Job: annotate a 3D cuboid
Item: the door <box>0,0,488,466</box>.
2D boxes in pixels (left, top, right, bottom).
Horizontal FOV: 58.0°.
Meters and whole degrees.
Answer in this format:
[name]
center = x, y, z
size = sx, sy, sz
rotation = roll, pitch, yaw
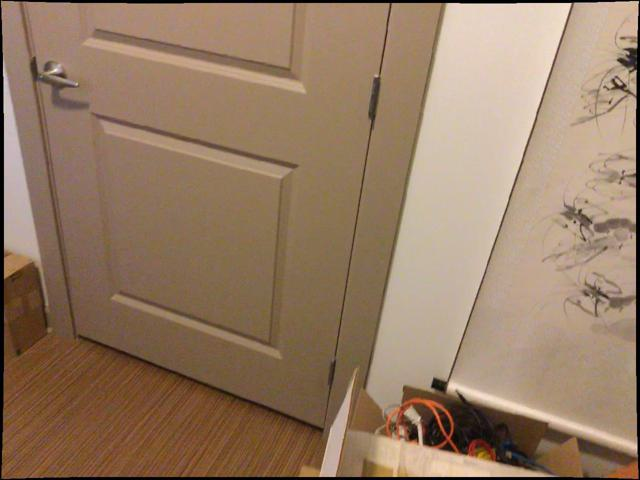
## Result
[door]
center = -0.309, -0.461, 1.300
size = 1.278, 2.174, 0.150
rotation = 16, 34, 15
